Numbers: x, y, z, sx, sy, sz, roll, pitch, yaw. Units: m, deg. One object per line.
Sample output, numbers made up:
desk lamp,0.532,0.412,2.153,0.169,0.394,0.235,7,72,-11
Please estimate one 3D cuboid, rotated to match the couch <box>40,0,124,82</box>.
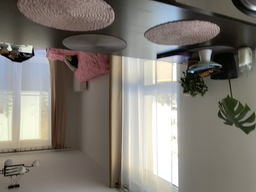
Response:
couch,-1.070,-0.850,4.090,0.970,0.890,2.570,1,177,-26
